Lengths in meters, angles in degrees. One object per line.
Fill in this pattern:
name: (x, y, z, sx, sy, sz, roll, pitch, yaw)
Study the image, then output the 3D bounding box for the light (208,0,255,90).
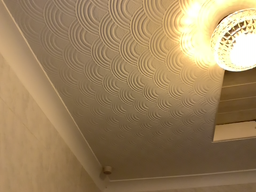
light: (0.420, -0.220, 0.750, 0.200, 0.220, 0.300, -9, 136, 10)
